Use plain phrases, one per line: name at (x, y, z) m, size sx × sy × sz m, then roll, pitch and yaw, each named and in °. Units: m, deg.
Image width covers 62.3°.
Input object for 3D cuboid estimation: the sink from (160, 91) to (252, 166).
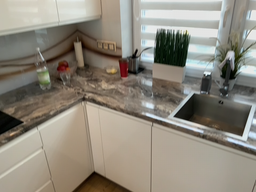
sink at (0.520, 0.180, 1.430) m, size 0.470 × 0.200 × 0.400 m, roll 15°, pitch 31°, yaw 31°
